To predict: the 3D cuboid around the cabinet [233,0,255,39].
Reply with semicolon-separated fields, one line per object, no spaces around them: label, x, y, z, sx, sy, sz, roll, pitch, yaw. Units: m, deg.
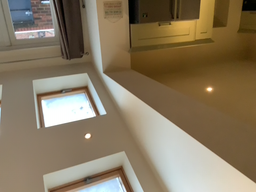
cabinet;2.380;-1.520;3.880;0.390;0.860;0.620;-11;-157;-22
